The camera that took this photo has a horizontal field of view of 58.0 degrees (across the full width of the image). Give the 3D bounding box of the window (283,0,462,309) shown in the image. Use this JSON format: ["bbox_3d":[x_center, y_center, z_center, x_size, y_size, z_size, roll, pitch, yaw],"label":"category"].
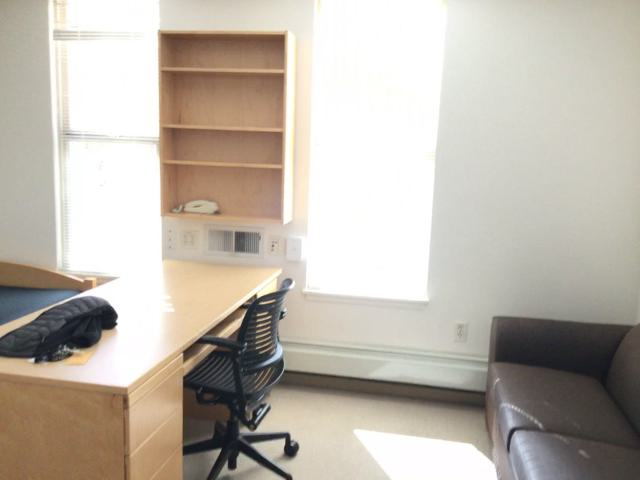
[{"bbox_3d":[0.300,-0.530,3.400,0.880,1.750,0.290,5,7,11],"label":"window"}]

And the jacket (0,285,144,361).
[{"bbox_3d":[-0.920,0.290,2.140,0.320,0.130,0.480,5,7,11],"label":"jacket"}]

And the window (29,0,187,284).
[{"bbox_3d":[-1.340,-0.670,3.630,0.900,1.790,0.240,5,7,11],"label":"window"}]
